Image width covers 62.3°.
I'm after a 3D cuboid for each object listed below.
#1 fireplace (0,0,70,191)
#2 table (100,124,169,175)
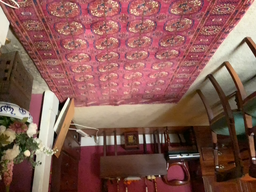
[{"bbox_3d":[-0.810,0.270,1.350,0.590,1.140,1.520,-1,157,-7],"label":"fireplace"},{"bbox_3d":[0.070,0.900,3.550,1.060,0.730,0.370,-1,157,-5],"label":"table"}]
